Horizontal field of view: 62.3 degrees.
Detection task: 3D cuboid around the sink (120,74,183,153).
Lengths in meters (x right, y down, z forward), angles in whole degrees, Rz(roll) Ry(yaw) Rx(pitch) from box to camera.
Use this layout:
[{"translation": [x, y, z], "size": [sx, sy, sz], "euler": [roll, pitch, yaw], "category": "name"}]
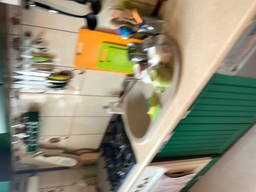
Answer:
[{"translation": [0.140, 0.120, 1.560], "size": [0.470, 0.210, 0.320], "euler": [-111, 33, -41], "category": "sink"}]
